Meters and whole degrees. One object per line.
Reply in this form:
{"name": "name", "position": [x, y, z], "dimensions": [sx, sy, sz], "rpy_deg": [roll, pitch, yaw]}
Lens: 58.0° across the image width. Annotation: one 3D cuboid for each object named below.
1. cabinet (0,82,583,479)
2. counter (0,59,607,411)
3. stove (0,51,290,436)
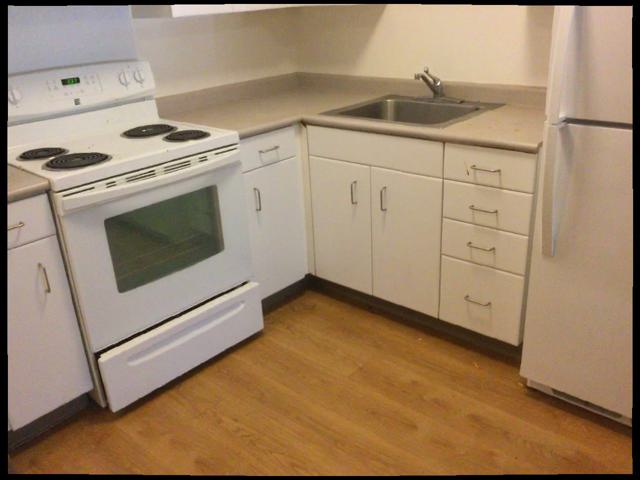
{"name": "cabinet", "position": [-0.200, 0.060, 2.350], "dimensions": [1.668, 0.901, 2.009], "rpy_deg": [18, 33, 37]}
{"name": "counter", "position": [-0.230, -0.391, 2.190], "dimensions": [1.838, 0.170, 2.089], "rpy_deg": [18, 33, 37]}
{"name": "stove", "position": [-0.798, -0.090, 2.410], "dimensions": [0.819, 1.172, 0.959], "rpy_deg": [18, 33, 37]}
